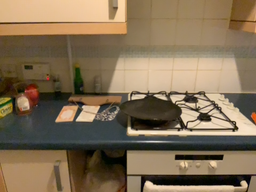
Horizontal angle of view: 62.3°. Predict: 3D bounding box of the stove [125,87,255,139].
[{"bbox_3d":[0.280,0.060,1.140,0.590,0.030,0.580,0,21,-1],"label":"stove"}]
